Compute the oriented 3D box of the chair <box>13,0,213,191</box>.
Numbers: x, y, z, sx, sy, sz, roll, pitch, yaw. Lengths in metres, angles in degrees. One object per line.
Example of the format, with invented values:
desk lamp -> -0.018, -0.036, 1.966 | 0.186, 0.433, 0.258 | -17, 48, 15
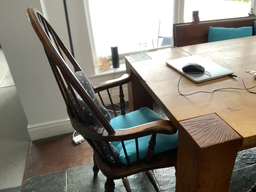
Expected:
chair -> -0.050, 0.090, 1.160 | 0.620, 1.140, 0.570 | -12, 30, -12
